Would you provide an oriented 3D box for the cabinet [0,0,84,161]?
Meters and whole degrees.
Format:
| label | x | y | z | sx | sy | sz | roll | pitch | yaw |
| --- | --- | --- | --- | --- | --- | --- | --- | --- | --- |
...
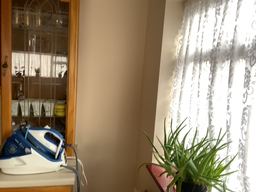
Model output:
| label | x | y | z | sx | sy | sz | roll | pitch | yaw |
| --- | --- | --- | --- | --- | --- | --- | --- | --- | --- |
| cabinet | -0.630 | -0.210 | 1.610 | 0.540 | 1.310 | 0.320 | 2 | 7 | -13 |
